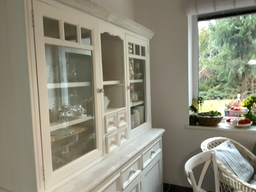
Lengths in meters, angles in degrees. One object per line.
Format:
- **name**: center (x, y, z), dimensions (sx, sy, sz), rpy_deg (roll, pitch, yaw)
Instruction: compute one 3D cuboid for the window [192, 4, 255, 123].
- **window**: center (1.700, -0.370, 2.480), dimensions (1.840, 1.410, 0.080), rpy_deg (1, 6, 28)
